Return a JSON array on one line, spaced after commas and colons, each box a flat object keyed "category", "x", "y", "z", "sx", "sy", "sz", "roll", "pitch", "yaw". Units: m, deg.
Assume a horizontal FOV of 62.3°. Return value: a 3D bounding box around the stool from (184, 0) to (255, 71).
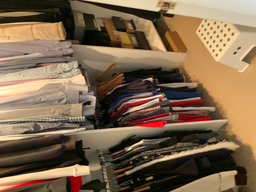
[{"category": "stool", "x": 0.660, "y": -0.470, "z": 1.460, "sx": 0.300, "sy": 0.250, "sz": 0.510, "roll": 117, "pitch": 145, "yaw": -48}]
